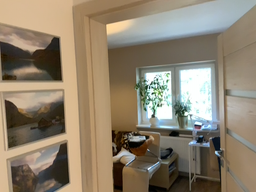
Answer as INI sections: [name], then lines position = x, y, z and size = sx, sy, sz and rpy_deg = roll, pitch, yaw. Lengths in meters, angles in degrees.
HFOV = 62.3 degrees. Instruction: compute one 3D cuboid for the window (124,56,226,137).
[window]
position = 0.780, 0.020, 3.860
size = 1.800, 1.290, 0.120
rpy_deg = -1, 3, 27
